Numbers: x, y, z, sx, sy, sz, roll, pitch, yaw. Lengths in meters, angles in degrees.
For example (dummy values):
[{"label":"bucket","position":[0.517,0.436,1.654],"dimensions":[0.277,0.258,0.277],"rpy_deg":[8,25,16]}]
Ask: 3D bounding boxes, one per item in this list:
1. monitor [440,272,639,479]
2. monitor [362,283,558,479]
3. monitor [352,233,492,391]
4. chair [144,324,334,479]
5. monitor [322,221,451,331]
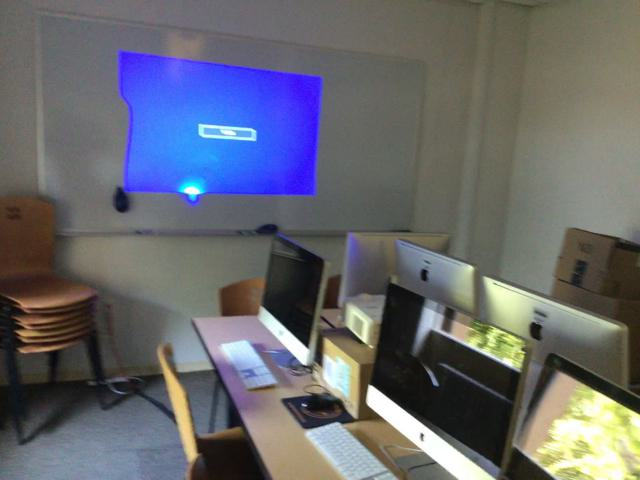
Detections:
[{"label":"monitor","position":[0.590,0.370,1.620],"dimensions":[0.180,0.440,0.540],"rpy_deg":[-1,11,-24]},{"label":"monitor","position":[0.310,0.370,1.450],"dimensions":[0.130,0.390,0.540],"rpy_deg":[-1,11,-26]},{"label":"monitor","position":[0.360,0.240,2.210],"dimensions":[0.210,0.440,0.570],"rpy_deg":[-1,11,-24]},{"label":"chair","position":[-0.310,0.750,2.010],"dimensions":[0.530,0.770,0.450],"rpy_deg":[-1,11,-24]},{"label":"monitor","position":[0.300,0.150,2.600],"dimensions":[0.540,0.450,0.150],"rpy_deg":[-1,12,-24]}]
